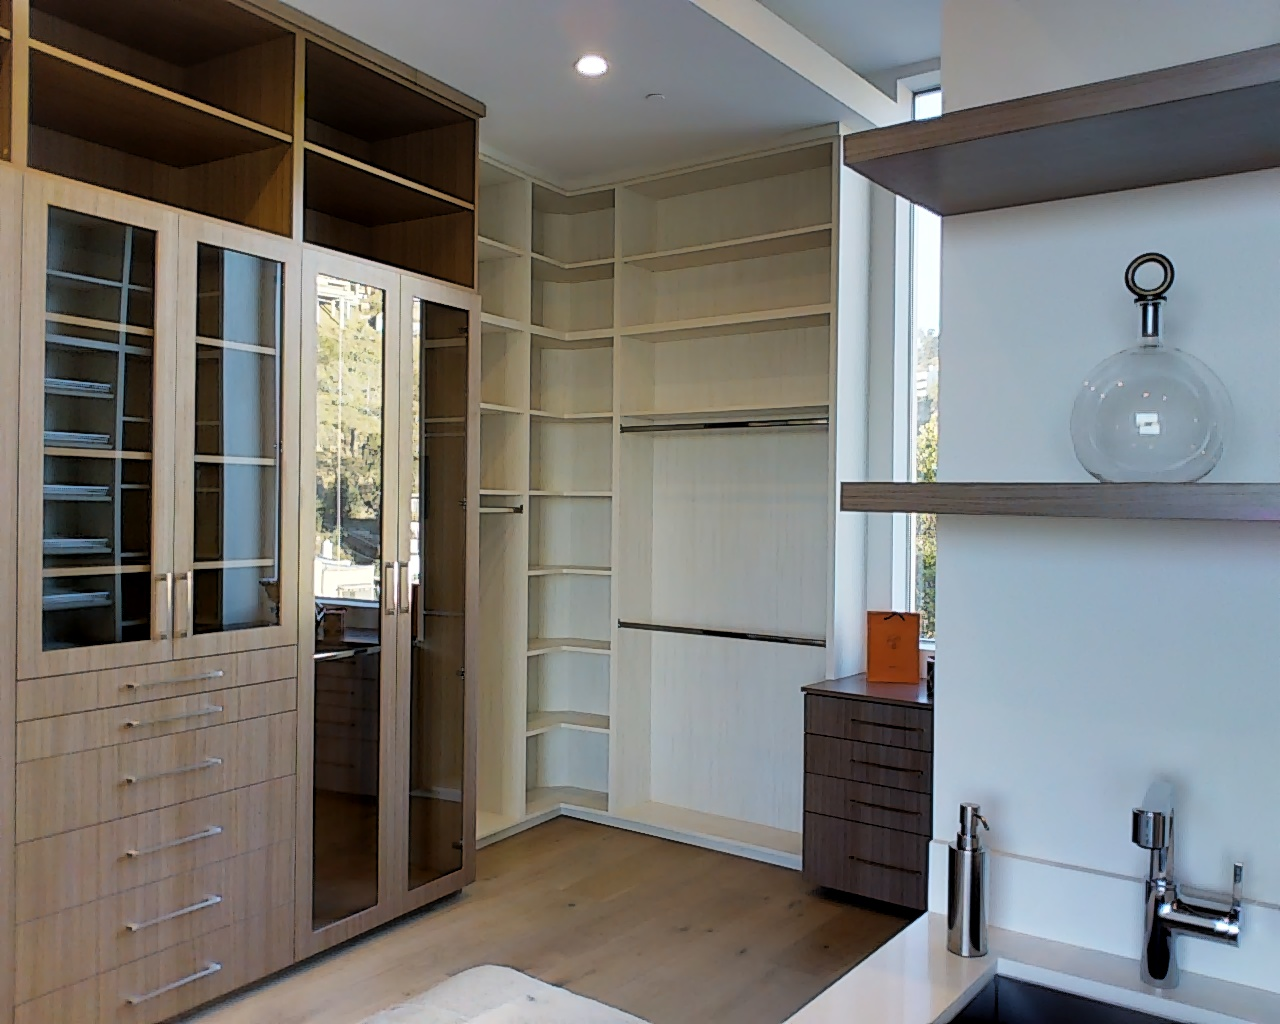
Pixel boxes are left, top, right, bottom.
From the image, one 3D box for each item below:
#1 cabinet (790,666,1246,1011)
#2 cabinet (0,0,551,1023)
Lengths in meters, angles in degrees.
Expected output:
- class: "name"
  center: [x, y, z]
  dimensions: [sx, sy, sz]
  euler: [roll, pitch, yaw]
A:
- class: "cabinet"
  center: [1.290, 1.090, 3.900]
  dimensions: [1.550, 0.890, 0.250]
  euler: [1, 1, 37]
- class: "cabinet"
  center: [-1.460, -0.040, 3.360]
  dimensions: [0.680, 3.110, 3.030]
  euler: [1, 1, 32]
